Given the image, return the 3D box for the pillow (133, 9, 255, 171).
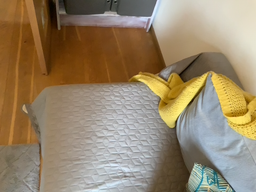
[{"bbox_3d":[0.290,0.010,1.100,0.290,0.620,0.570,-3,60,-15],"label":"pillow"}]
